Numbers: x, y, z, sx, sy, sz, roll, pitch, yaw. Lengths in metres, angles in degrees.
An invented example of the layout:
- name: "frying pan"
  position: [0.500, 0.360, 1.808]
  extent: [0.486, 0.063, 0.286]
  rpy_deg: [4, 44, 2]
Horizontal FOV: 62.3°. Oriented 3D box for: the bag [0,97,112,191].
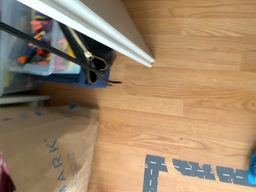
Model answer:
- name: "bag"
  position: [-0.270, 0.240, 0.780]
  extent: [0.230, 0.460, 0.430]
  rpy_deg: [7, 94, 16]
